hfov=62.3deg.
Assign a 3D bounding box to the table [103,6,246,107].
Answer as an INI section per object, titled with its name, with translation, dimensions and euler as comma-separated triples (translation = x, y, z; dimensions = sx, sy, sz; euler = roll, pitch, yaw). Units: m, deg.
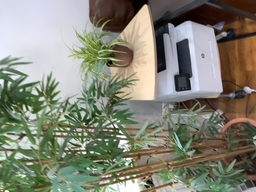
[table]
translation = 0.290, -0.180, 1.480
dimensions = 0.610, 0.730, 0.470
euler = -12, 79, 60
